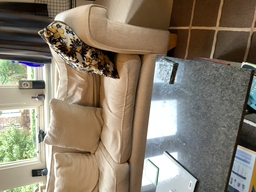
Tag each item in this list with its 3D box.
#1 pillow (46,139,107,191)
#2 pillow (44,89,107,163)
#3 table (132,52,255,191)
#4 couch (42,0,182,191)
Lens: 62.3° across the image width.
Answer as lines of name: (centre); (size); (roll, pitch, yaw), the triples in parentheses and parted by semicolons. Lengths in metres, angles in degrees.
pillow: (-0.470, 0.740, 2.040); (0.140, 0.420, 0.500); (27, 138, 48)
pillow: (-0.460, 0.260, 1.930); (0.210, 0.430, 0.510); (32, 134, 49)
table: (0.360, 0.520, 1.160); (0.550, 0.430, 1.420); (30, 118, 56)
couch: (-0.310, 0.410, 1.960); (0.960, 0.770, 2.190); (30, 118, 56)
